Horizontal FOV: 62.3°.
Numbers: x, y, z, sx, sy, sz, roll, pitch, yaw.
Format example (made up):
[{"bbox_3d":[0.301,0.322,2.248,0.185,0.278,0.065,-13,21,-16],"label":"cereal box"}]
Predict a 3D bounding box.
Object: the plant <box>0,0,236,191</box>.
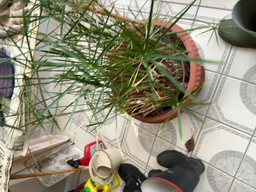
[{"bbox_3d":[-0.110,-0.140,0.630,0.530,1.140,0.440,12,99,35],"label":"plant"}]
